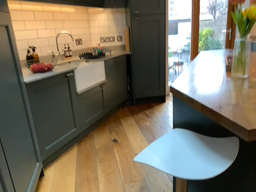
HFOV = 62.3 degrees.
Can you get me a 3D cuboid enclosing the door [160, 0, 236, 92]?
[{"bbox_3d":[1.330,-1.190,4.050,1.440,2.140,0.110,-6,18,-10],"label":"door"}]
